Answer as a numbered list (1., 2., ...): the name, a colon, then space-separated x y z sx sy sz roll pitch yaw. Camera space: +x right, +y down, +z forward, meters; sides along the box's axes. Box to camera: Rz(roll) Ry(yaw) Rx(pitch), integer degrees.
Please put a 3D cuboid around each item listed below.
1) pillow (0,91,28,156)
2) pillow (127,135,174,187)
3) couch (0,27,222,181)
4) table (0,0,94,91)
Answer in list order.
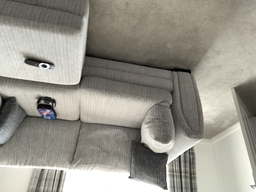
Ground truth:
1. pillow: -1.000 0.240 1.710 0.190 0.320 0.480 24 142 -17
2. pillow: 0.190 0.620 1.990 0.350 0.380 0.330 5 149 -7
3. couch: -0.480 0.190 1.980 2.140 0.860 1.060 8 148 -11
4. table: -0.590 -0.410 1.390 0.660 0.430 0.580 8 148 -11
